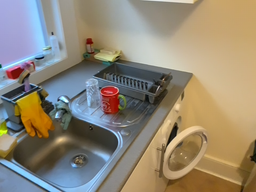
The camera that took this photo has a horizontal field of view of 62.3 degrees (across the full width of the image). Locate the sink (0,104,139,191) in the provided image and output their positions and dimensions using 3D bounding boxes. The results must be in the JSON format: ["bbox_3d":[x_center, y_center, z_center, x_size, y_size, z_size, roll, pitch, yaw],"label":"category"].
[{"bbox_3d":[-0.270,0.270,0.950,0.510,0.170,0.410,15,34,24],"label":"sink"}]
